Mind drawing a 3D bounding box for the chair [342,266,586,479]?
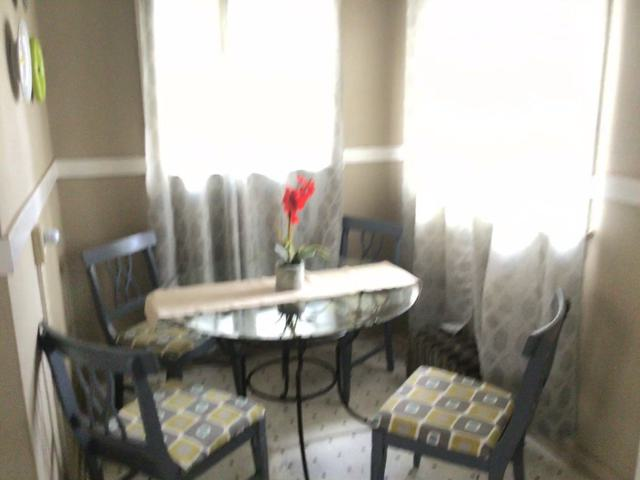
[{"bbox_3d":[0.500,0.590,1.990,0.630,0.830,0.560,6,14,33],"label":"chair"}]

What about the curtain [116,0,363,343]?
[{"bbox_3d":[-0.380,-0.520,3.100,1.200,1.980,0.220,-6,13,-20],"label":"curtain"}]

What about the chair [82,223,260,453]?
[{"bbox_3d":[-0.760,0.410,2.880,0.690,0.810,0.790,-6,13,-20],"label":"chair"}]

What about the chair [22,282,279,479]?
[{"bbox_3d":[-0.530,0.650,1.960,0.520,0.840,0.570,6,14,33],"label":"chair"}]

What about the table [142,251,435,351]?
[{"bbox_3d":[-0.130,0.230,2.490,1.180,0.150,0.420,-6,13,-20],"label":"table"}]

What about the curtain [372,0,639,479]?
[{"bbox_3d":[0.710,-0.300,2.620,0.300,2.140,1.470,-6,13,-20],"label":"curtain"}]
